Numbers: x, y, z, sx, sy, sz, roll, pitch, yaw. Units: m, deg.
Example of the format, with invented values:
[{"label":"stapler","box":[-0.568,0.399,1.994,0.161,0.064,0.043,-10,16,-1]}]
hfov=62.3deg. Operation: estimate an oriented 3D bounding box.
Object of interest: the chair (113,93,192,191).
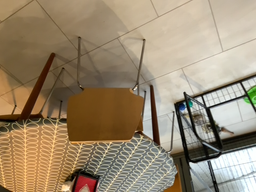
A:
[{"label":"chair","box":[0.180,0.480,1.760,0.420,0.850,0.390,34,126,-29]}]

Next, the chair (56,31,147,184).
[{"label":"chair","box":[-0.120,0.020,1.290,0.360,0.850,0.420,3,135,-3]}]
